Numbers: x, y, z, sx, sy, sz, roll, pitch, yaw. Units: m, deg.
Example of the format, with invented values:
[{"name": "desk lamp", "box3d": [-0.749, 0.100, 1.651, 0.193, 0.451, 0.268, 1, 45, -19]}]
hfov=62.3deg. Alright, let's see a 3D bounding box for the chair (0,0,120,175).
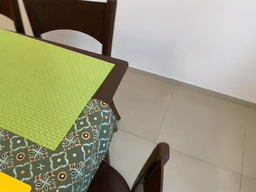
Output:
[{"name": "chair", "box3d": [-0.310, -0.020, 1.010, 0.420, 0.770, 0.450, 15, 55, 9]}]
